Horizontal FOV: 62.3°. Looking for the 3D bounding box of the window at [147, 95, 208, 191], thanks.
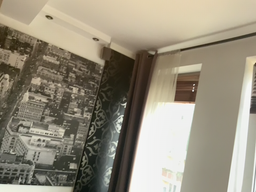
[{"bbox_3d":[0.600,0.600,2.580,0.190,1.200,0.500,20,-12,-42],"label":"window"}]
